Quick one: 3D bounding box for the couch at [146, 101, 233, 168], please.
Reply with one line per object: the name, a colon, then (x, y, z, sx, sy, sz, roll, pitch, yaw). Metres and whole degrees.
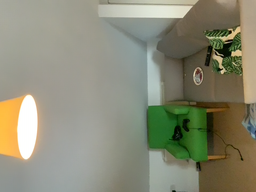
couch: (0.750, 0.440, 2.840, 0.850, 0.810, 0.700, 172, 96, -81)

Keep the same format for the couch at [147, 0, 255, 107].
couch: (0.810, -0.380, 2.210, 1.820, 0.760, 0.900, 173, 95, -81)
